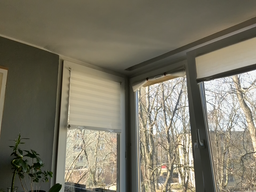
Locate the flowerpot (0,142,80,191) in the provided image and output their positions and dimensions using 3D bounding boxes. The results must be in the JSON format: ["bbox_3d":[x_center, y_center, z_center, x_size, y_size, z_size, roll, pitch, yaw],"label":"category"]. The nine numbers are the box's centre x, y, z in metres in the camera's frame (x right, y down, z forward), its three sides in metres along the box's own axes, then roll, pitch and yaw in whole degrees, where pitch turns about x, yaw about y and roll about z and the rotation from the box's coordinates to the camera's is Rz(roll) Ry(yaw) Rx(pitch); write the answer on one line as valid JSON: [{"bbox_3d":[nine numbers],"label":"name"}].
[{"bbox_3d":[-0.610,0.530,1.350,0.290,0.450,0.500,-12,-18,42],"label":"flowerpot"}]
